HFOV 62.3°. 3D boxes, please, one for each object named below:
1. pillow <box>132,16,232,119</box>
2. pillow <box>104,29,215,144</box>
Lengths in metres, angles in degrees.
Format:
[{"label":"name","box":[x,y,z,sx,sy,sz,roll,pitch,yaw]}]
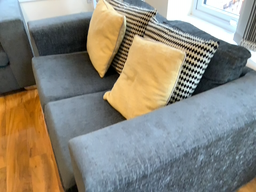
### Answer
[{"label":"pillow","box":[0.280,-0.170,1.150,0.120,0.400,0.530,-40,42,0]},{"label":"pillow","box":[0.150,-0.060,1.090,0.120,0.470,0.520,-43,42,3]}]
